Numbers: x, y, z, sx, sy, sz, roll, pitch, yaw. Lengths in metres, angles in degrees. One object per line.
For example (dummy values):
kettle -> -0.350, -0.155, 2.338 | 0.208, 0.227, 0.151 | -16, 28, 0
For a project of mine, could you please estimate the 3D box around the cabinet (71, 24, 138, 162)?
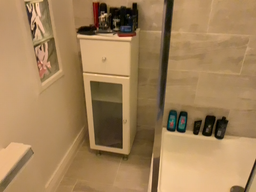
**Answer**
cabinet -> -0.150, 0.000, 1.790 | 0.390, 1.100, 0.360 | 5, 29, 9
